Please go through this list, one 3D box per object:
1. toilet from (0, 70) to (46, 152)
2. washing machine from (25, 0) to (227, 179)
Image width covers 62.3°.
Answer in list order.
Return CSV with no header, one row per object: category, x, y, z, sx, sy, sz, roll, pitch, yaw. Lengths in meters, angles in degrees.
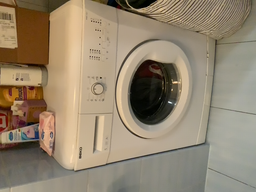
toilet,-0.560,0.050,0.990,0.350,0.240,0.320,6,94,53
washing machine,-0.030,-0.060,1.170,0.670,0.840,0.590,11,98,53
